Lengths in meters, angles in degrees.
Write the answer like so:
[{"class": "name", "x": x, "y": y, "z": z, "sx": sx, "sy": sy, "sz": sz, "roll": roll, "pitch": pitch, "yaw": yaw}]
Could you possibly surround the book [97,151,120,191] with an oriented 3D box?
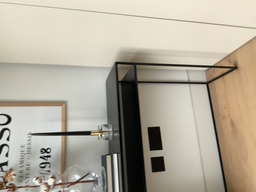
[{"class": "book", "x": -0.100, "y": 0.410, "z": 1.040, "sx": 0.220, "sy": 0.070, "sz": 0.260, "roll": 138, "pitch": 130, "yaw": -70}]
